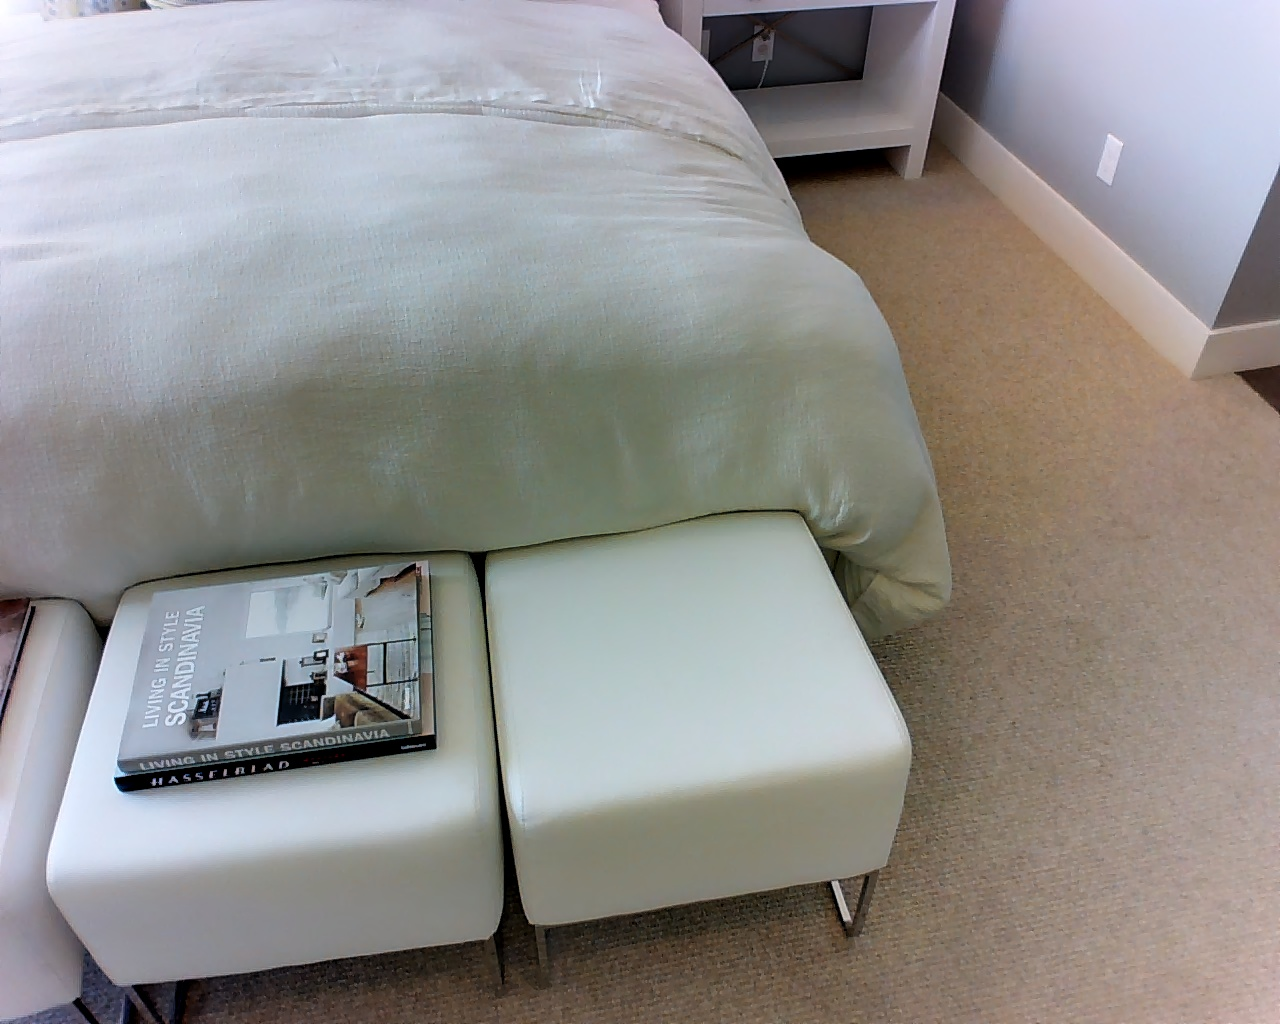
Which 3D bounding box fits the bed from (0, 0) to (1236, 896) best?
[{"bbox_3d":[-0.730,-0.760,2.150,2.230,1.290,2.410,-9,42,-9],"label":"bed"}]
